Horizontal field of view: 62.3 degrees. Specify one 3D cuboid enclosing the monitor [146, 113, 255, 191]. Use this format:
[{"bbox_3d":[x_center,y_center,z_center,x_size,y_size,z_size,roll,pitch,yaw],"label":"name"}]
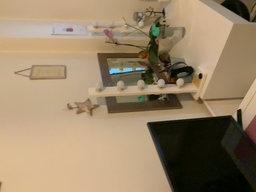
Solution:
[{"bbox_3d":[0.390,0.350,0.750,0.740,0.450,0.060,-110,21,-49],"label":"monitor"}]
